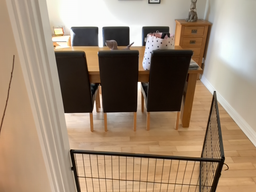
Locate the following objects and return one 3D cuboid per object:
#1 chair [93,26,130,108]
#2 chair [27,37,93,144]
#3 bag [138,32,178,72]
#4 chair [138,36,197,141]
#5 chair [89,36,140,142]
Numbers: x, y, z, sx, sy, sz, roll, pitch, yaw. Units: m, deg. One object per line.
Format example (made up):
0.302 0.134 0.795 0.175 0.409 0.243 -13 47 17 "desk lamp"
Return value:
-0.200 -0.420 3.050 0.450 1.020 0.580 0 28 0 "chair"
-0.680 -0.070 2.370 0.450 1.040 0.580 -1 28 -3 "chair"
0.290 -0.460 2.170 0.330 0.320 0.330 -1 28 -3 "bag"
0.380 -0.090 2.410 0.450 1.040 0.580 -1 28 -3 "chair"
-0.140 -0.080 2.400 0.450 1.040 0.580 -1 28 -3 "chair"
